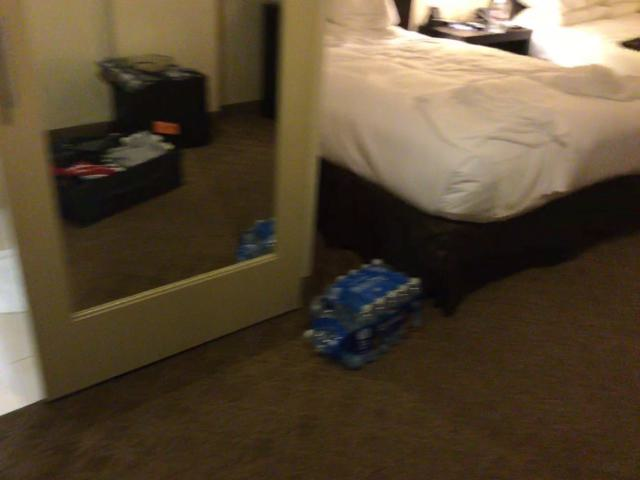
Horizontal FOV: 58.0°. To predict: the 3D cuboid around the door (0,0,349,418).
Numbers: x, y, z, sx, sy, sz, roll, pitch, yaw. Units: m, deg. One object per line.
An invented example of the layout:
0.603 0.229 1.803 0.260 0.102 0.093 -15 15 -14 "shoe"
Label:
-0.390 -0.280 1.670 1.040 1.470 0.150 -18 35 -29 "door"
